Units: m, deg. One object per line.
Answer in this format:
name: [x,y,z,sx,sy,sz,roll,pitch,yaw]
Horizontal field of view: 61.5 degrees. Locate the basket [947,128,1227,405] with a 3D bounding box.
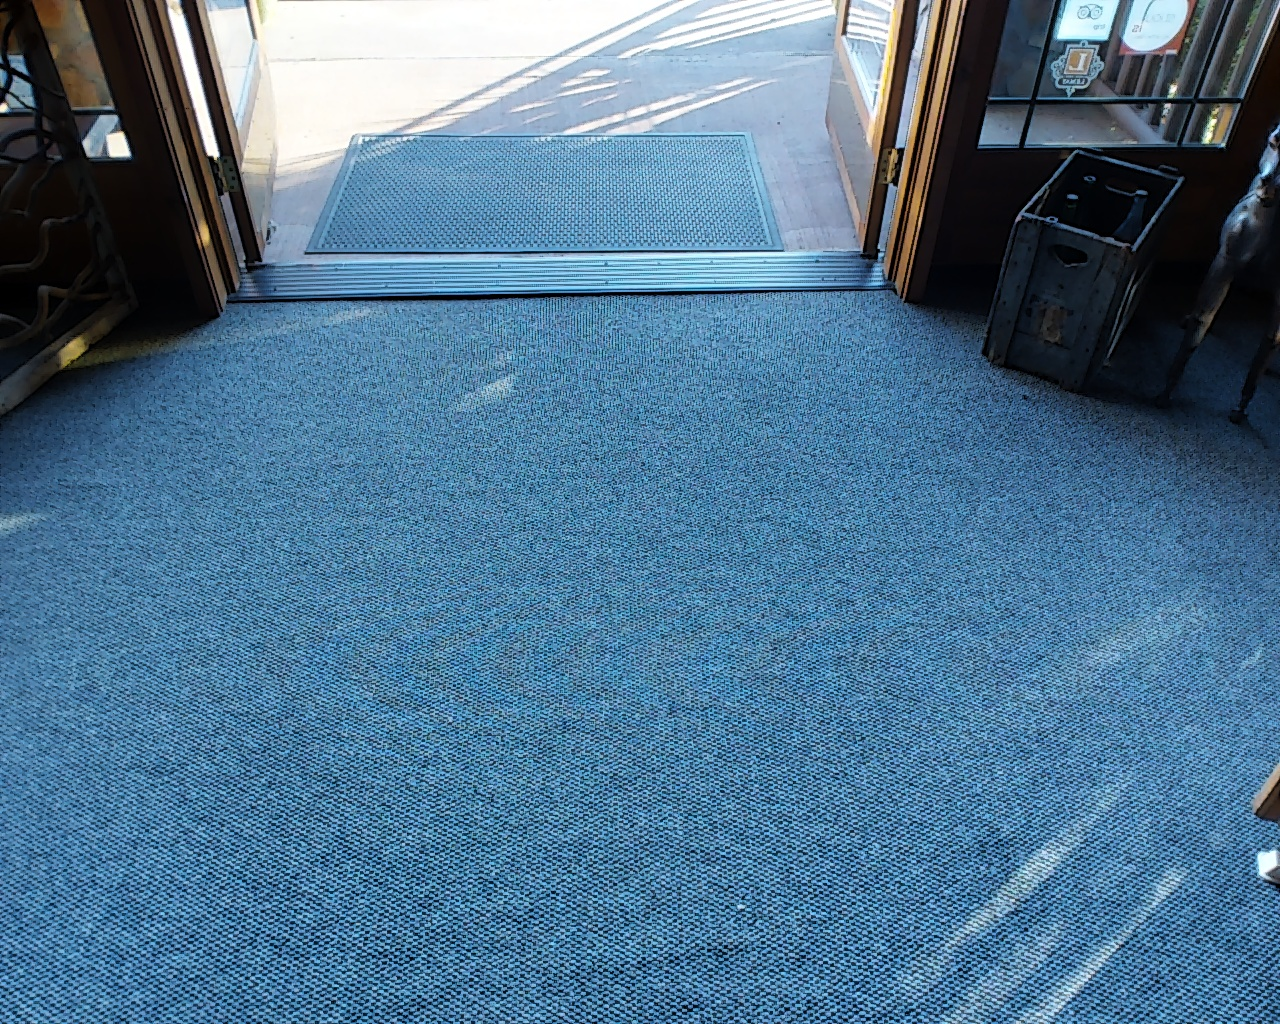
basket: [1.110,-0.630,2.690,0.400,0.390,0.550,27,49,26]

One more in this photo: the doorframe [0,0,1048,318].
doorframe: [-0.240,-1.400,2.310,2.310,2.060,0.280,-2,42,-2]

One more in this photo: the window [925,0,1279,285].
window: [1.270,-1.490,2.380,0.840,2.060,0.280,-2,42,-2]
